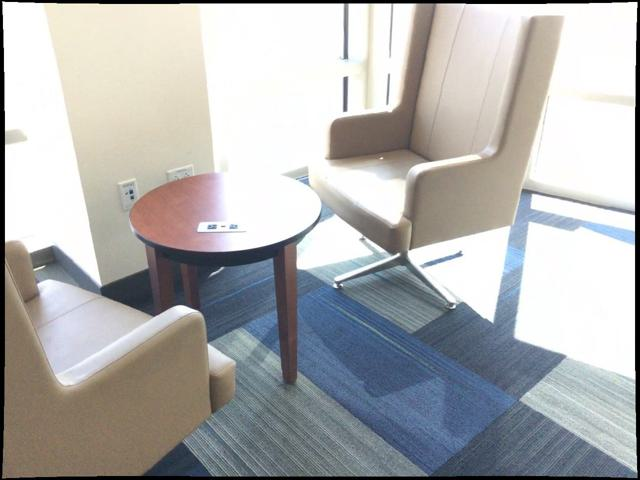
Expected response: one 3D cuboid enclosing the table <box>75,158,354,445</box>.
[{"bbox_3d":[-0.349,0.150,2.030,0.639,0.571,0.669,-26,38,-37],"label":"table"}]
